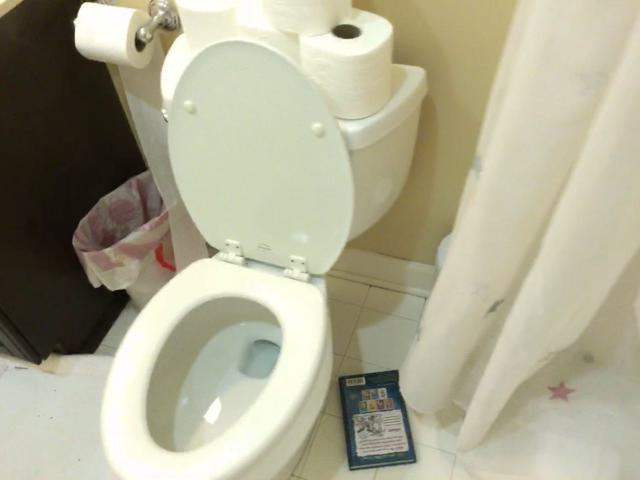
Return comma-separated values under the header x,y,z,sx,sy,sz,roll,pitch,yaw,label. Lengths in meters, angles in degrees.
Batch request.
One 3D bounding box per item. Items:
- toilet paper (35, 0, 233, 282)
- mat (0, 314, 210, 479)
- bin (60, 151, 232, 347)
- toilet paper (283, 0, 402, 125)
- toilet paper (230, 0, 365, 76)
x,y,z,sx,sy,sz,roll,pitch,yaw,label
-0.380,-0.200,1.330,0.180,0.690,0.170,12,50,16,toilet paper
-0.580,0.410,1.310,0.540,0.080,0.480,3,49,8,mat
-0.410,0.020,1.460,0.190,0.310,0.350,12,50,15,bin
0.040,-0.280,0.900,0.140,0.120,0.140,12,50,16,toilet paper
-0.030,-0.370,0.870,0.160,0.170,0.140,12,50,16,toilet paper
